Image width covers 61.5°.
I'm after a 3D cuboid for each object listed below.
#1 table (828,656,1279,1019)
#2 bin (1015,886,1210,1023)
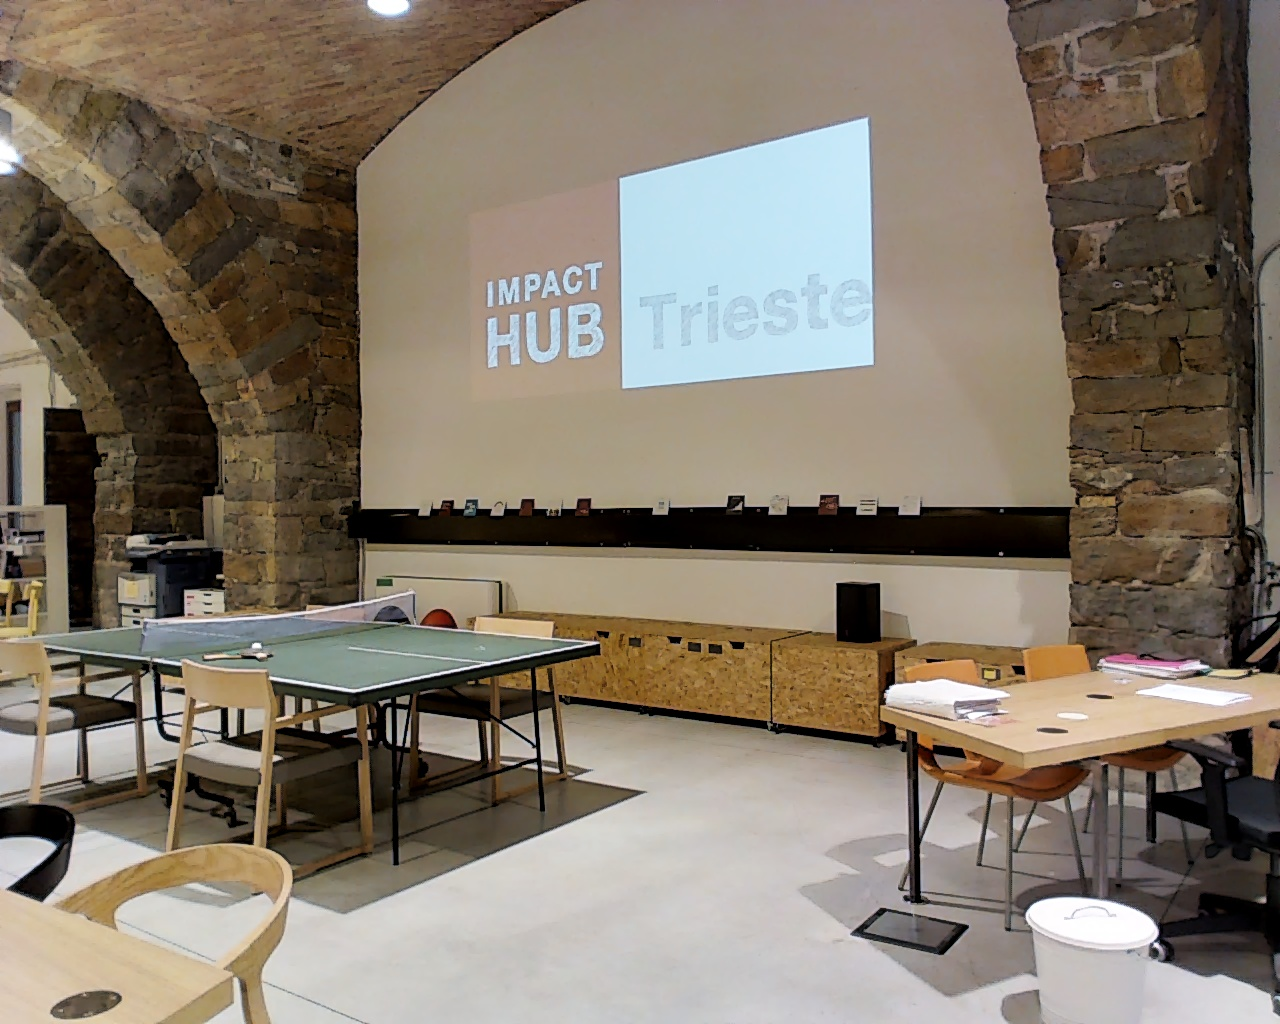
[{"bbox_3d":[1.779,1.020,3.880,2.010,0.740,0.960,-1,1,-29],"label":"table"},{"bbox_3d":[1.300,1.270,2.980,0.360,0.310,0.340,-1,0,-20],"label":"bin"}]
